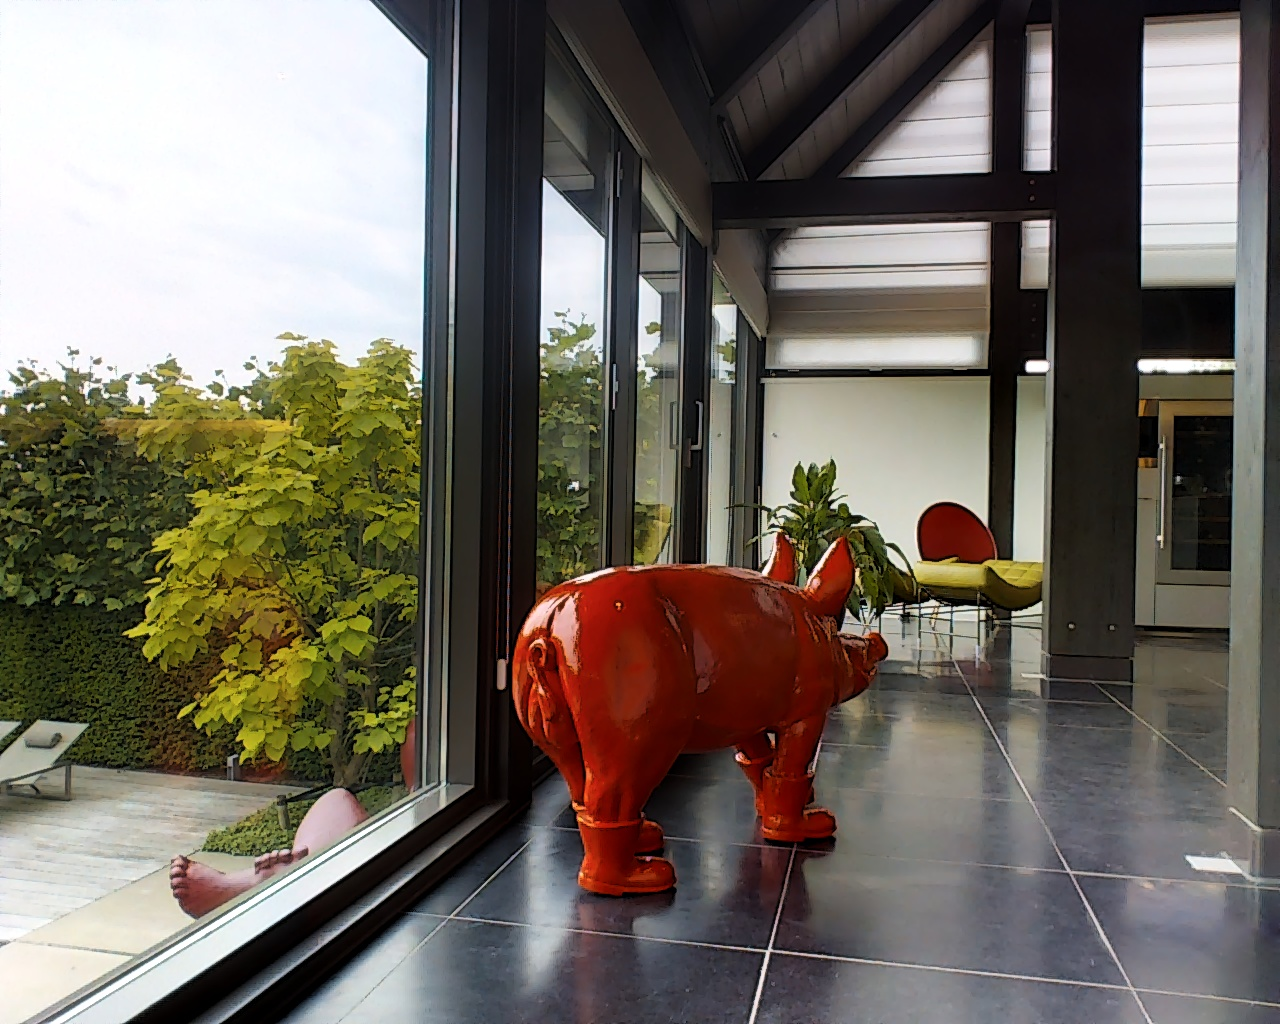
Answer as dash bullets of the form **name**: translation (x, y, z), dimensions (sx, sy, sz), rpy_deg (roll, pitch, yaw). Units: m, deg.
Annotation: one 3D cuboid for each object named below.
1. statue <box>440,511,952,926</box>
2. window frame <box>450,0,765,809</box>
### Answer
- **statue**: translation (0.200, 0.390, 2.610), dimensions (1.270, 0.760, 0.500), rpy_deg (1, 0, -45)
- **window frame**: translation (0.080, -0.400, 4.200), dimensions (0.450, 2.290, 3.000), rpy_deg (1, 0, 13)
